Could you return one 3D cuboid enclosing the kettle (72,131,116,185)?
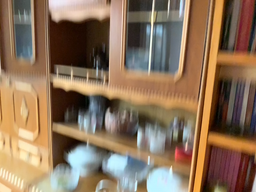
[{"bbox_3d":[-0.220,0.390,1.390,0.170,0.230,0.230,11,14,31],"label":"kettle"}]
